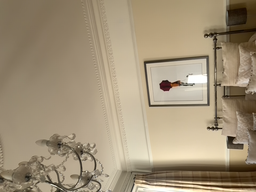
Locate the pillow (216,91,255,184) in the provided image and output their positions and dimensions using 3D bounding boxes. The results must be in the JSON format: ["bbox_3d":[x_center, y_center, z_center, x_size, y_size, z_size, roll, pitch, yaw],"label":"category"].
[{"bbox_3d":[1.480,0.450,2.730,1.160,0.560,0.670,-49,-46,-63],"label":"pillow"}]

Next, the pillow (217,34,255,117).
[{"bbox_3d":[1.380,-0.300,2.500,1.090,0.520,0.670,-52,-43,-62],"label":"pillow"}]

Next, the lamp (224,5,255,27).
[{"bbox_3d":[1.500,-1.040,2.740,0.210,0.440,0.200,-54,-41,-61],"label":"lamp"}]
